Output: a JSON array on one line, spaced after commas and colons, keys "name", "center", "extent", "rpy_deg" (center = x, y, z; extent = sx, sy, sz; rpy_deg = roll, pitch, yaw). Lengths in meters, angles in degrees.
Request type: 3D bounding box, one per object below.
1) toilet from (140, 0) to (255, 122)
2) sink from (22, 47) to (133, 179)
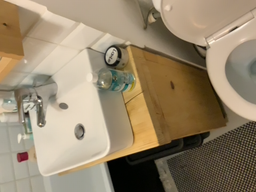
[{"name": "toilet", "center": [0.470, -0.250, 0.940], "extent": [0.360, 0.800, 0.600], "rpy_deg": [-27, 71, 35]}, {"name": "sink", "center": [-0.230, 0.090, 0.830], "extent": [0.440, 0.120, 0.360], "rpy_deg": [-28, 71, 35]}]
